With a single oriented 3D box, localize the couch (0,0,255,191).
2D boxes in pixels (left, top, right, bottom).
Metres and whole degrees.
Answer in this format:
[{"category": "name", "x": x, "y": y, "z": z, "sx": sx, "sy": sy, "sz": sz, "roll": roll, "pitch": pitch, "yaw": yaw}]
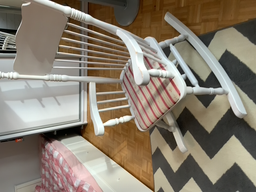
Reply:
[{"category": "couch", "x": -0.030, "y": -0.070, "z": 1.210, "sx": 0.620, "sy": 1.150, "sz": 0.880, "roll": -50, "pitch": 58, "yaw": 42}]
